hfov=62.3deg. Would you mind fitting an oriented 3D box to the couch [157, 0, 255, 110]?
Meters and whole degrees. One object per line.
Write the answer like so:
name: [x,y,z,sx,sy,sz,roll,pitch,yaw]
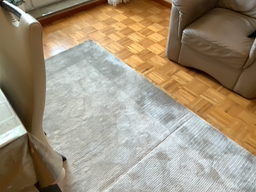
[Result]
couch: [0.990,-0.720,1.820,0.960,0.960,0.990,-31,54,-26]
